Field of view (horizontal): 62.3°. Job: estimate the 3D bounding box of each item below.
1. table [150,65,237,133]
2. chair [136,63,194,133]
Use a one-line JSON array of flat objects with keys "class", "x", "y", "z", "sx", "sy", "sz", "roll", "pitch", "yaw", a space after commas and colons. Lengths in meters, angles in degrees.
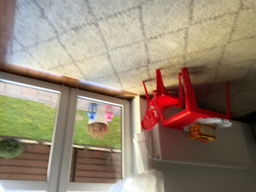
[{"class": "table", "x": 0.630, "y": 0.070, "z": 2.130, "sx": 0.600, "sy": 0.410, "sz": 0.500, "roll": 13, "pitch": 149, "yaw": -26}, {"class": "chair", "x": 0.320, "y": 0.040, "z": 1.980, "sx": 0.330, "sy": 0.490, "sz": 0.370, "roll": 14, "pitch": 149, "yaw": -27}]
